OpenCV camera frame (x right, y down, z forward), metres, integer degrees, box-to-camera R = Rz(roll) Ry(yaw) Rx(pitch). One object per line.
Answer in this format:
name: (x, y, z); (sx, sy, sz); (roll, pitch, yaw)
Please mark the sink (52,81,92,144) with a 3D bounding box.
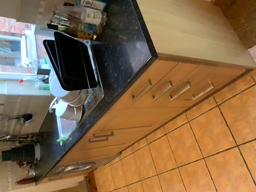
sink: (-0.530, 0.160, 1.950); (0.400, 0.180, 0.440); (-43, 55, 47)
